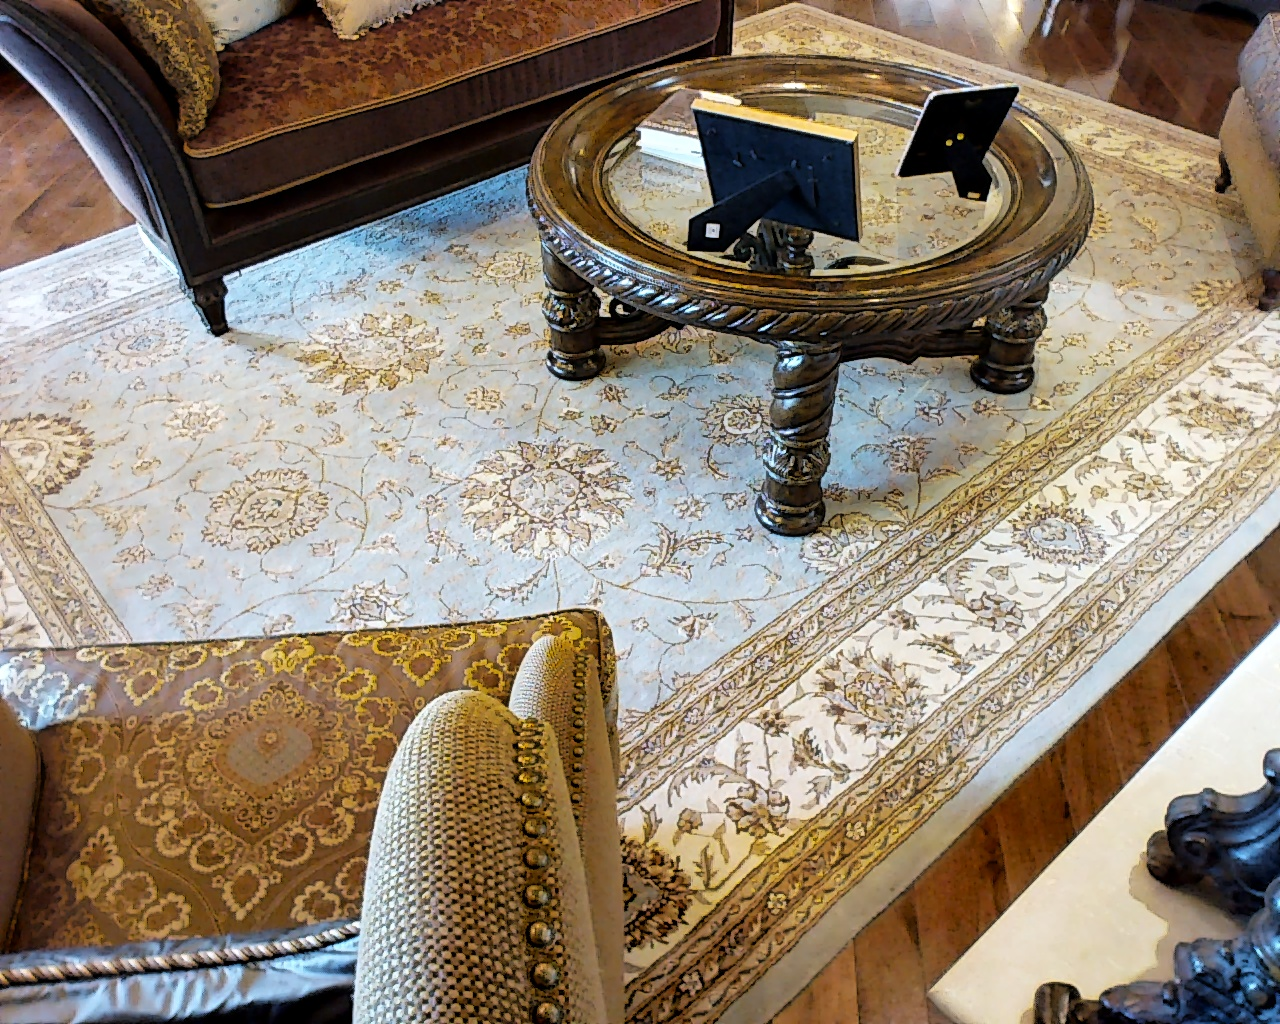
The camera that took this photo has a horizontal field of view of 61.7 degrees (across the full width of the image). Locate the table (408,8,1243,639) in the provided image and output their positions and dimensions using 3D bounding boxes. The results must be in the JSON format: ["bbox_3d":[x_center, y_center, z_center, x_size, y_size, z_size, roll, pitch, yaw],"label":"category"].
[{"bbox_3d":[0.380,-0.580,2.530,1.260,0.600,1.280,-30,50,-28],"label":"table"}]

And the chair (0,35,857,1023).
[{"bbox_3d":[-0.410,0.390,1.030,0.930,1.230,1.090,-4,42,-2],"label":"chair"}]
